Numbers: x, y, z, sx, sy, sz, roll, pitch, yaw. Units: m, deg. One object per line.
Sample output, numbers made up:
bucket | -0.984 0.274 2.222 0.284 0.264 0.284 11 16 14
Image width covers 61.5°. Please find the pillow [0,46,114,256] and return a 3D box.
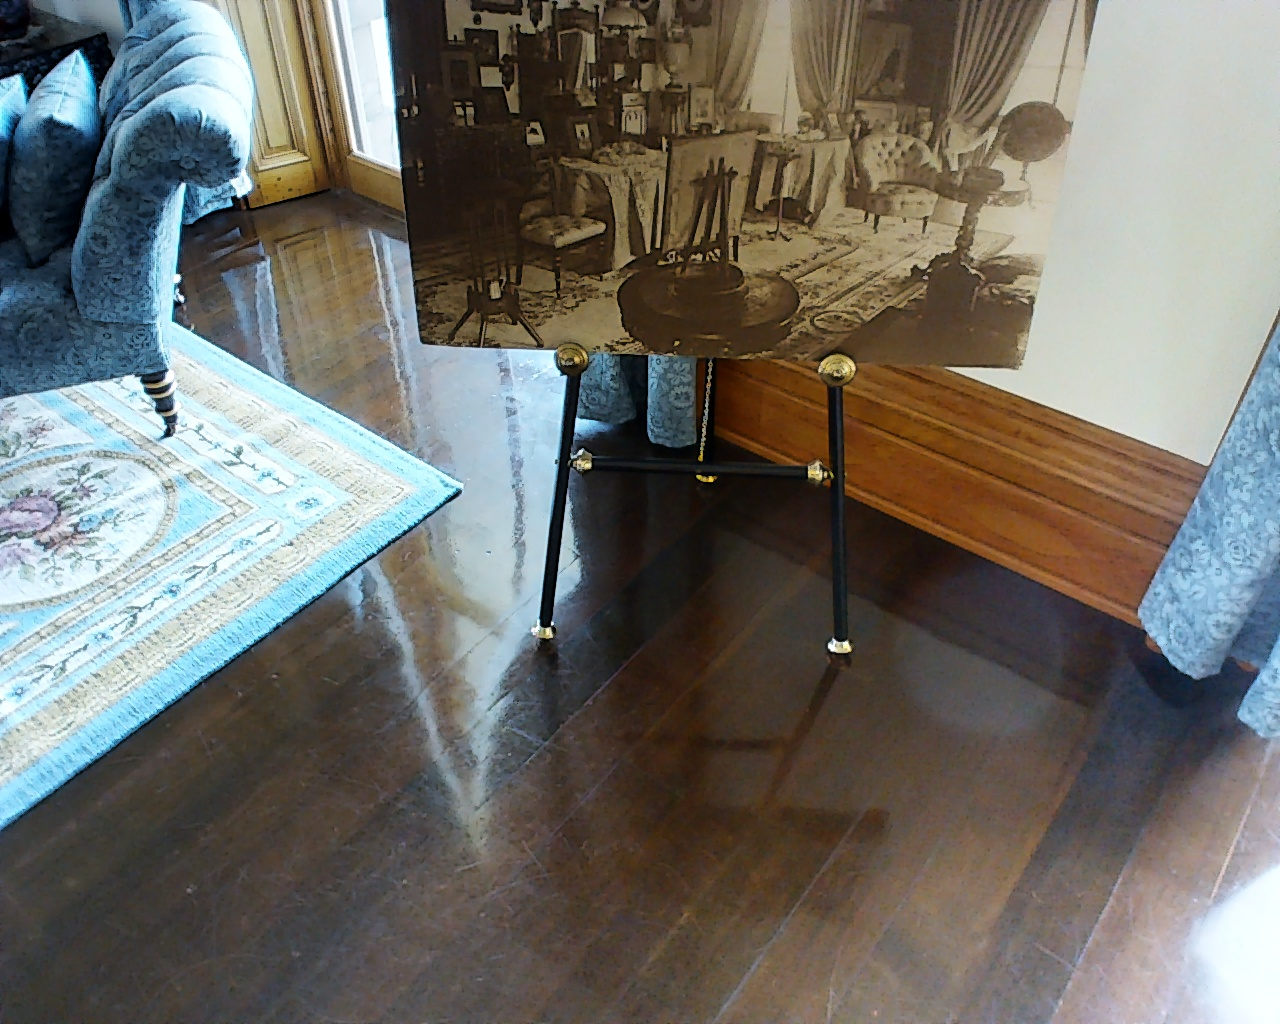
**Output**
pillow | -1.370 -0.850 2.500 0.170 0.390 0.460 12 18 -26
